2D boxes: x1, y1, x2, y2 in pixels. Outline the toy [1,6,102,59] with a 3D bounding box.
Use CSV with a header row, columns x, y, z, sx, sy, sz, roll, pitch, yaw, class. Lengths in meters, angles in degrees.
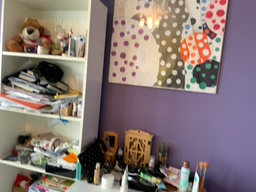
x,y,z,sx,sy,sz,roll,pitch,yaw,class
-0.480,-0.400,1.370,0.530,0.250,0.290,8,6,16,toy
